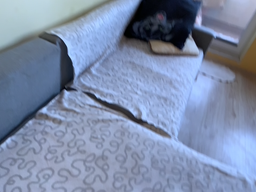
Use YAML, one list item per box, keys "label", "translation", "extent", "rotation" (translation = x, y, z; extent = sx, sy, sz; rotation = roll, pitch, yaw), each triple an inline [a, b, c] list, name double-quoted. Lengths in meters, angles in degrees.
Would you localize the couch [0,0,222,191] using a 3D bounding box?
- label: "couch"
  translation: [-0.020, -0.050, 1.470]
  extent: [0.950, 0.730, 2.290]
  rotation: [23, 41, 9]
